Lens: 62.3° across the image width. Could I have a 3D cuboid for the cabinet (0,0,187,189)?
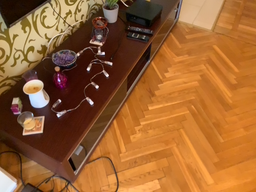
[{"bbox_3d":[-0.150,-0.390,1.800,0.680,0.390,2.050,23,54,15],"label":"cabinet"}]
